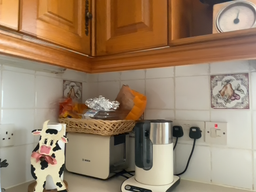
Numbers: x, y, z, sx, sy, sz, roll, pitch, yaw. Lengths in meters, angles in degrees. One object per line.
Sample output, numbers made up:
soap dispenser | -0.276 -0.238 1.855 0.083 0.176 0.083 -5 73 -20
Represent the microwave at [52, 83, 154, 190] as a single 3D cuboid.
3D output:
microwave | -0.120 0.160 1.020 0.410 0.400 0.260 -2 -3 33
